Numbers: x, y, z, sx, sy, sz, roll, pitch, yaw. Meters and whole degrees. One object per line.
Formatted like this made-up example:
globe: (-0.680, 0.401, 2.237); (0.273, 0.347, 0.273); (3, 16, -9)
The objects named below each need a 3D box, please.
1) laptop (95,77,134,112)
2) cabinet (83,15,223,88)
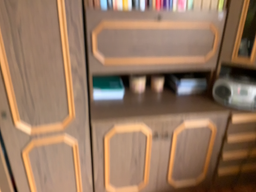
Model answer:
laptop: (-0.120, -0.020, 1.670); (0.280, 0.160, 0.290); (-1, 25, -8)
cabinet: (0.140, -0.340, 1.560); (0.900, 0.430, 0.350); (-2, 25, -10)
